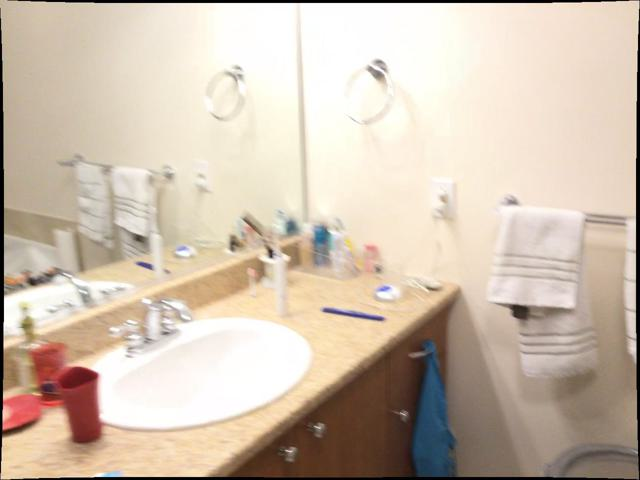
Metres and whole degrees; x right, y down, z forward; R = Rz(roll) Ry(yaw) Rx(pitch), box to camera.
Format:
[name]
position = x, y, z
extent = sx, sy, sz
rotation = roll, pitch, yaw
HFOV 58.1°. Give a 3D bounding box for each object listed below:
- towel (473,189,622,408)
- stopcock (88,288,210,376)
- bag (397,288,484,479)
[towel]
position = 0.589, 0.140, 1.520
extent = 0.290, 0.500, 0.170
rotation = 10, 19, 31
[stopcock]
position = -0.380, 0.200, 1.310
extent = 0.110, 0.090, 0.250
rotation = 10, 19, 31
[bag]
position = 0.350, 0.510, 1.690
extent = 0.120, 0.671, 0.300
rotation = 10, 19, 31
